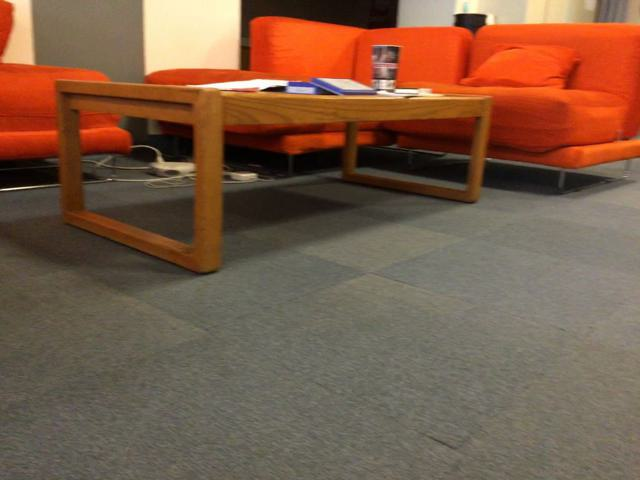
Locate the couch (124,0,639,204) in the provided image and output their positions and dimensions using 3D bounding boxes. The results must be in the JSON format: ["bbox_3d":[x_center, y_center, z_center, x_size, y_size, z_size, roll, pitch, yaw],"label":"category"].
[{"bbox_3d":[0.350,-0.790,2.680,1.960,0.810,1.580,14,18,40],"label":"couch"}]
